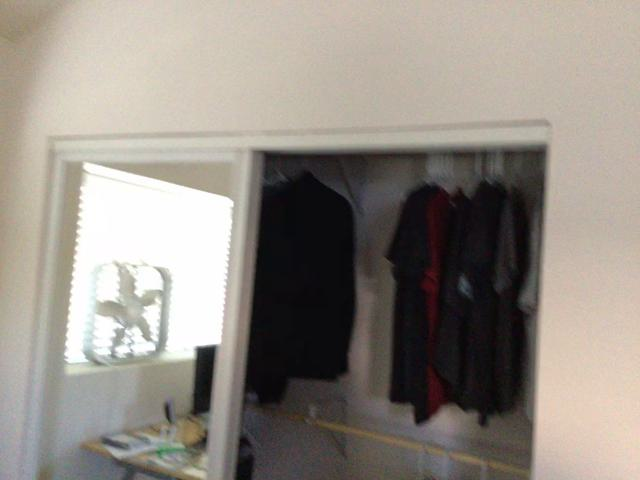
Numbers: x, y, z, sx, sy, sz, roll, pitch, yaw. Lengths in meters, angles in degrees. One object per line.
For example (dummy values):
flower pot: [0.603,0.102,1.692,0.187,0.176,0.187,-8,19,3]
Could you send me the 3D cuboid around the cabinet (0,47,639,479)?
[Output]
cabinet: [-0.150,0.690,2.330,2.430,2.220,1.220,2,-7,28]
